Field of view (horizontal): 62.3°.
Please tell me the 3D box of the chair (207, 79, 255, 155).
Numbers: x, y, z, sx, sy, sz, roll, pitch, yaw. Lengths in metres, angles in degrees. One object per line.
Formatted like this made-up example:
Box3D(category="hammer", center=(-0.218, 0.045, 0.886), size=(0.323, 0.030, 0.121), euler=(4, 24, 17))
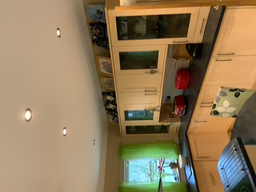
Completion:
Box3D(category="chair", center=(1.350, 0.190, 2.040), size=(0.450, 0.930, 0.560), euler=(87, -178, -47))
